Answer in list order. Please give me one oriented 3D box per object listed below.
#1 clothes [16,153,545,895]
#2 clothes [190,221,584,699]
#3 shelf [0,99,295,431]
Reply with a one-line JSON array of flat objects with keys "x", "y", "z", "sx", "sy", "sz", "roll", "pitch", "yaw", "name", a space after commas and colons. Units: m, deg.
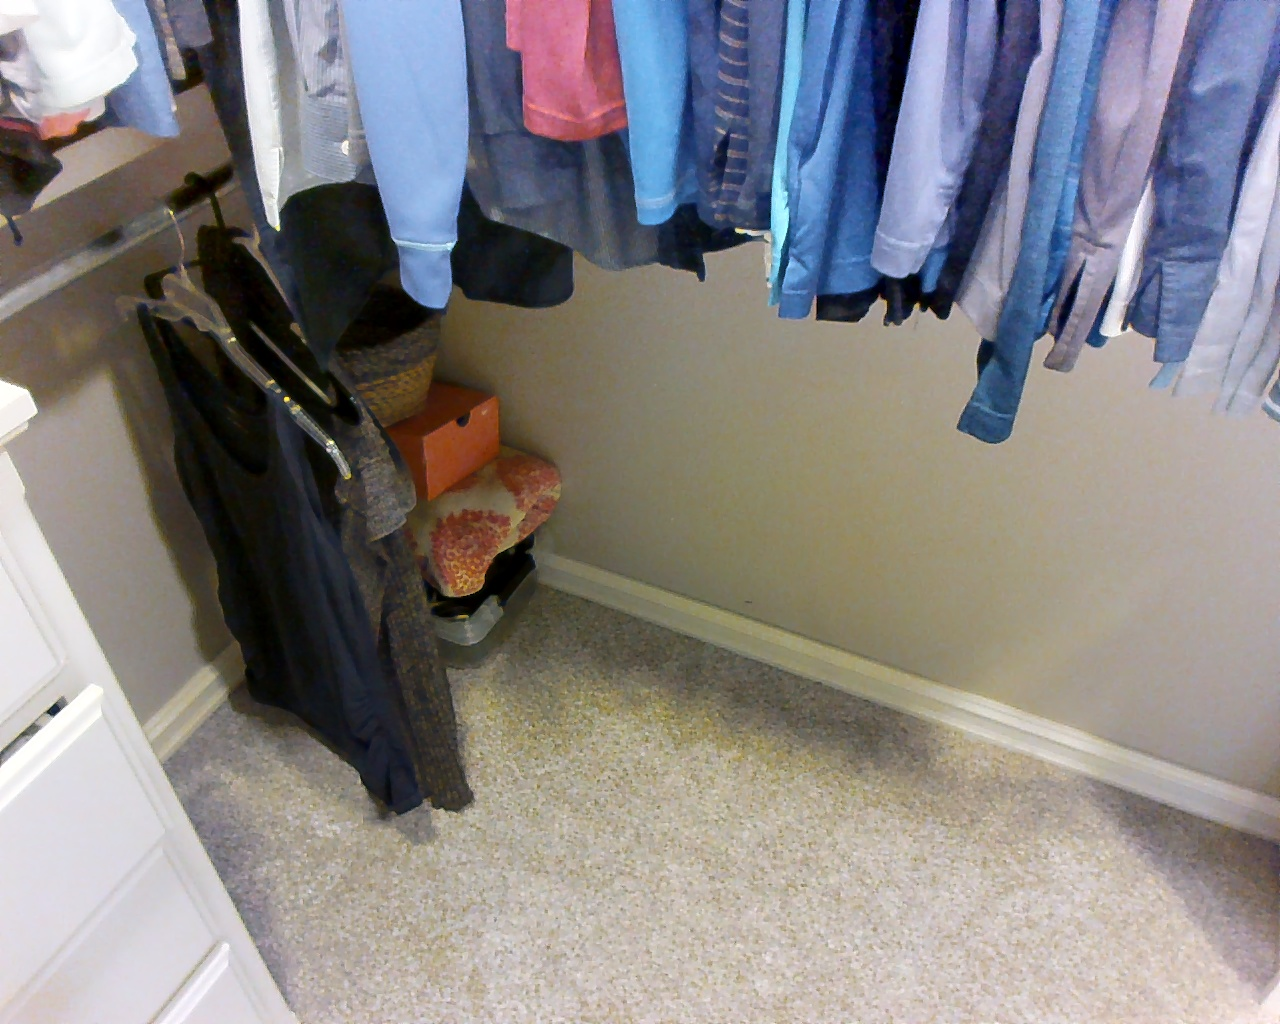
[{"x": -0.470, "y": 0.030, "z": 1.530, "sx": 0.290, "sy": 0.850, "sz": 0.600, "roll": -31, "pitch": 49, "yaw": -29, "name": "clothes"}, {"x": -0.380, "y": -0.080, "z": 1.800, "sx": 0.430, "sy": 0.650, "sz": 0.320, "roll": 17, "pitch": 45, "yaw": 21, "name": "clothes"}, {"x": -0.510, "y": -0.250, "z": 1.020, "sx": 0.100, "sy": 0.140, "sz": 0.380, "roll": 17, "pitch": 45, "yaw": 21, "name": "shelf"}]
